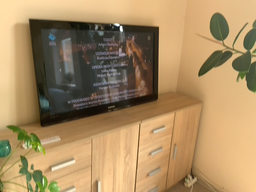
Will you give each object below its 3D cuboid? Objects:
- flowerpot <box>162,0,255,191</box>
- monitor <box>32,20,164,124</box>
[{"bbox_3d":[0.880,0.120,1.410,0.570,2.060,1.010,-10,21,-36],"label":"flowerpot"},{"bbox_3d":[-0.130,-0.200,1.610,1.070,0.630,0.040,-10,18,-37],"label":"monitor"}]
